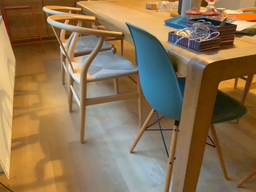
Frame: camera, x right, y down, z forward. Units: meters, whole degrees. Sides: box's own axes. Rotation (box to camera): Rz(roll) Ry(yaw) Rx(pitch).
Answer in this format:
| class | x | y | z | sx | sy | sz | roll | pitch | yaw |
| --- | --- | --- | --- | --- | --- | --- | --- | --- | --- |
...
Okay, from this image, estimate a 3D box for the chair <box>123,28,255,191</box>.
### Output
| class | x | y | z | sx | sy | sz | roll | pitch | yaw |
| --- | --- | --- | --- | --- | --- | --- | --- | --- | --- |
| chair | 0.250 | 0.090 | 1.060 | 0.440 | 0.730 | 0.400 | -9 | 31 | -16 |
